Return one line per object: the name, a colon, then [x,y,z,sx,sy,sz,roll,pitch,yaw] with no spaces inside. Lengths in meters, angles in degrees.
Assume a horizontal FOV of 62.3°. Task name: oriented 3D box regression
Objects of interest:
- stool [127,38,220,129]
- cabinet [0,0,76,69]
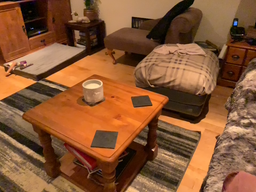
stool: [0.420,-0.170,1.920,0.620,0.470,0.670,14,34,22]
cabinet: [-1.440,-1.010,3.010,0.570,0.740,1.290,17,36,26]
